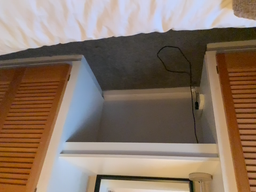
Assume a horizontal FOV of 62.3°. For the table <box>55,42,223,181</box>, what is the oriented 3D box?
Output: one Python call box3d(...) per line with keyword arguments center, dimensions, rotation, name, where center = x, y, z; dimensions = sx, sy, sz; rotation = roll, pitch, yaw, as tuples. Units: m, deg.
box3d(center=(0.100, 0.120, 1.490), dimensions=(0.860, 0.770, 0.510), rotation=(-2, 148, 11), name="table")
